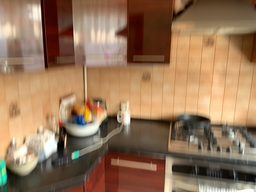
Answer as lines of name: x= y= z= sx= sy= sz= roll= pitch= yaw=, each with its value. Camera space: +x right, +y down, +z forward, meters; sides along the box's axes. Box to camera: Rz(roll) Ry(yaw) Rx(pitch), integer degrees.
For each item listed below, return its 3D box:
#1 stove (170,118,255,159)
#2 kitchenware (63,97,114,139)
stove: x=0.610 y=0.290 z=1.570 sx=0.560 sy=0.040 sz=0.540 roll=4 pitch=12 yaw=13
kitchenware: x=-0.320 y=0.170 z=1.800 sx=0.300 sy=0.240 sz=0.330 roll=4 pitch=13 yaw=16
